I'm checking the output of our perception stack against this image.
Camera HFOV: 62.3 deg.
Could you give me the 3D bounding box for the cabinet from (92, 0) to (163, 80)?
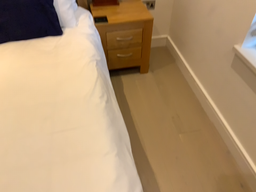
[{"bbox_3d":[-0.030,-0.540,1.990,0.520,0.570,0.440,-7,47,-9],"label":"cabinet"}]
